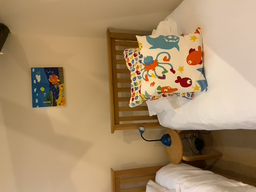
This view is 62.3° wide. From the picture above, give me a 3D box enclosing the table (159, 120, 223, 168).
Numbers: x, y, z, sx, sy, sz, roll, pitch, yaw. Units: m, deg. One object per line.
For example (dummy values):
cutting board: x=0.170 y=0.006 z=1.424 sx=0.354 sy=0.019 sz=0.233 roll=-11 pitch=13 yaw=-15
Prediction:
table: x=0.640 y=0.480 z=2.230 sx=0.410 sy=0.460 sz=0.420 roll=152 pitch=116 yaw=-71
